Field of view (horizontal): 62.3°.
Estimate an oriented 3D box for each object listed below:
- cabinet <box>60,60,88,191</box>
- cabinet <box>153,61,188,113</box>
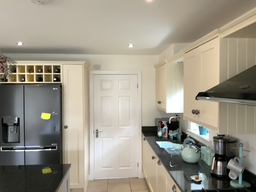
[{"bbox_3d":[-0.900,0.510,3.630,0.330,2.150,0.640,-1,2,-5],"label":"cabinet"},{"bbox_3d":[0.700,-0.150,3.640,0.370,0.790,0.870,-1,2,-4],"label":"cabinet"}]
